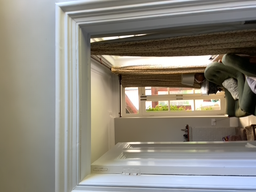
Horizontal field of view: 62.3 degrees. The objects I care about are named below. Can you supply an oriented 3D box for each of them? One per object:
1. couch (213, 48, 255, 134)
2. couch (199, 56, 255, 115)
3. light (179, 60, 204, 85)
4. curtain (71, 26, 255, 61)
[{"bbox_3d":[1.560,-0.090,2.540,0.820,0.820,0.890,-34,-58,-80],"label":"couch"},{"bbox_3d":[1.700,-0.120,3.510,0.810,0.820,0.850,27,-119,-80],"label":"couch"},{"bbox_3d":[1.280,-0.470,4.340,0.430,0.420,0.450,-8,-84,-81],"label":"light"},{"bbox_3d":[0.630,-0.610,2.490,0.340,2.580,0.250,-52,-41,-77],"label":"curtain"}]
